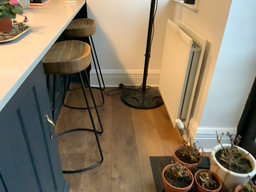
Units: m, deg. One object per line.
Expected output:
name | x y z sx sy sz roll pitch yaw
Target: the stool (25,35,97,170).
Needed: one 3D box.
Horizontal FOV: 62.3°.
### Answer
stool | -0.380 0.050 1.420 0.280 0.790 0.440 0 31 -4
